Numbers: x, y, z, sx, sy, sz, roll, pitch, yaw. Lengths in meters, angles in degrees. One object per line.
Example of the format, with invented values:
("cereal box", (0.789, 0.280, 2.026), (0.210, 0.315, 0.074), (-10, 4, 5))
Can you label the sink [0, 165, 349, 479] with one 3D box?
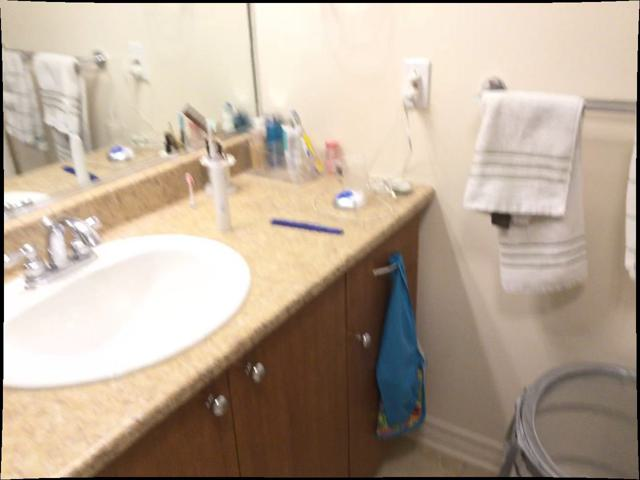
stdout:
("sink", (-0.340, 0.100, 1.130), (0.480, 0.200, 0.790), (14, 30, 27))

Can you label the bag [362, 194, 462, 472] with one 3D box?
("bag", (0.240, 0.250, 1.540), (0.120, 0.670, 0.300), (14, 30, 27))

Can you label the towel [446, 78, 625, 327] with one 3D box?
("towel", (0.480, -0.090, 1.330), (0.290, 0.500, 0.170), (14, 30, 27))

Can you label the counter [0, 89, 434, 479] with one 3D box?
("counter", (-0.430, 0.020, 1.060), (0.740, 0.230, 1.570), (14, 30, 27))
